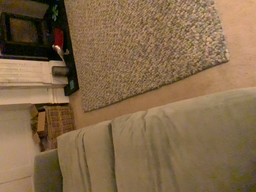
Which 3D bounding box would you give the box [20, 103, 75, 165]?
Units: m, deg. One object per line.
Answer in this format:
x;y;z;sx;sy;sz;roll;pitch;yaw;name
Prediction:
-0.990;0.460;2.580;0.470;0.420;0.620;-24;75;49;box
